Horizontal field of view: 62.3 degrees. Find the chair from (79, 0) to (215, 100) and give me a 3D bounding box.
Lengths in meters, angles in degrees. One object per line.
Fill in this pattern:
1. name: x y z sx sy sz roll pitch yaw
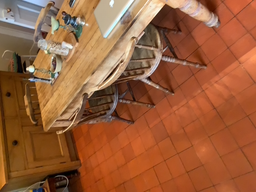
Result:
1. chair: 0.150 -0.280 1.480 0.390 0.780 0.430 -54 53 29
